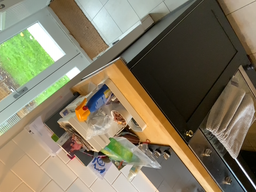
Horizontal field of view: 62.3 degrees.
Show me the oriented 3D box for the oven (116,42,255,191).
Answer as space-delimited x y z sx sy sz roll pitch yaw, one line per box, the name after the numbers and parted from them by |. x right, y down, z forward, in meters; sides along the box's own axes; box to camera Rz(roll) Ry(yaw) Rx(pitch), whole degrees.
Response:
0.520 0.210 1.400 0.570 0.890 0.590 52 151 -14 | oven

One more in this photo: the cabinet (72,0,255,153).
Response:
0.220 -0.170 1.280 0.430 0.890 0.590 52 151 -14 | cabinet
